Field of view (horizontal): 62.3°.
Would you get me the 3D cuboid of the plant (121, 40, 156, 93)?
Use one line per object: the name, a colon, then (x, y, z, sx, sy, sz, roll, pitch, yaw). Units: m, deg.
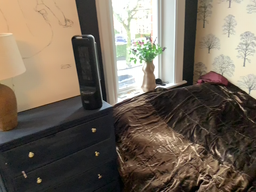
plant: (0.120, -0.330, 2.330, 0.280, 0.500, 0.240, -15, 24, -27)
